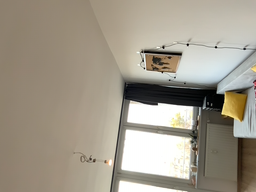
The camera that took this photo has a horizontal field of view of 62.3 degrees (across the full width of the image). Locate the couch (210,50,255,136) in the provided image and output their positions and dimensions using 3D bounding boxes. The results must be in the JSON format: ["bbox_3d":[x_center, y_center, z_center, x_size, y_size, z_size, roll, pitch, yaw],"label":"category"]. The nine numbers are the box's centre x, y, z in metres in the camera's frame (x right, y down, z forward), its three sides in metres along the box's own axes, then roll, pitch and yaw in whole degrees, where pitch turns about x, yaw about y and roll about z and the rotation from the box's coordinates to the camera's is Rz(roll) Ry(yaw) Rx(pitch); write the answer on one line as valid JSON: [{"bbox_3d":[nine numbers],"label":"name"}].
[{"bbox_3d":[1.840,0.050,2.970,2.360,0.650,0.960,54,-138,-79],"label":"couch"}]
